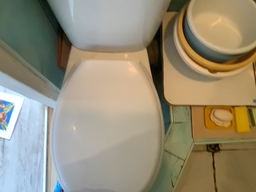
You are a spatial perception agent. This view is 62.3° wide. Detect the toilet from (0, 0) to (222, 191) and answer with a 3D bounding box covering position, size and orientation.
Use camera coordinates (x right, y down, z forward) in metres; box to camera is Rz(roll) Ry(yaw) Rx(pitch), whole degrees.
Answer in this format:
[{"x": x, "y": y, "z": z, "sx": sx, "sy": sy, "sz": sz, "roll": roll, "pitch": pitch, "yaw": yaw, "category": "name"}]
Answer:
[{"x": -0.060, "y": -0.020, "z": 0.720, "sx": 0.370, "sy": 0.730, "sz": 0.720, "roll": 1, "pitch": 80, "yaw": -4, "category": "toilet"}]
